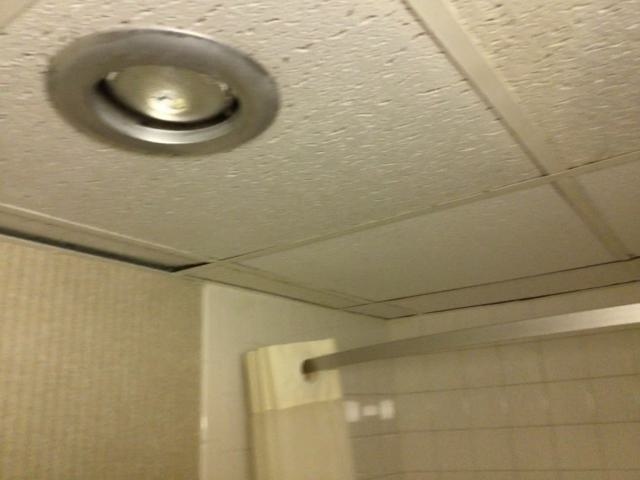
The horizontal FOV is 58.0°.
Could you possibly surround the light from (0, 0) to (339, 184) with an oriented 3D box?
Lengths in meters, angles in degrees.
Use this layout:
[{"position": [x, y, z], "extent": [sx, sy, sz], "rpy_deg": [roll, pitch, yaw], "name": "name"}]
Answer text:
[{"position": [-0.130, -0.130, 0.510], "extent": [0.210, 0.050, 0.210], "rpy_deg": [-16, -20, 32], "name": "light"}]
